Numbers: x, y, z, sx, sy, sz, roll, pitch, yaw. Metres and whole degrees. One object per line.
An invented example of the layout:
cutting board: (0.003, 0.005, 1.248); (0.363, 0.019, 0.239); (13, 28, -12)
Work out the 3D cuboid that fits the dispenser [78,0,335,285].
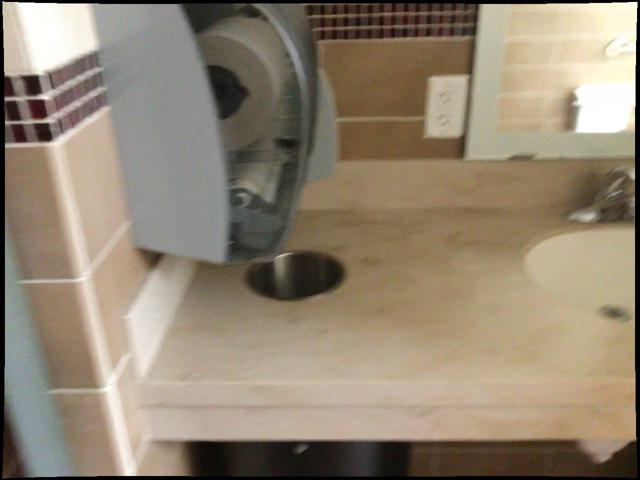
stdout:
dispenser: (-0.120, -0.180, 0.850); (0.269, 0.381, 0.310); (-1, 28, 3)
